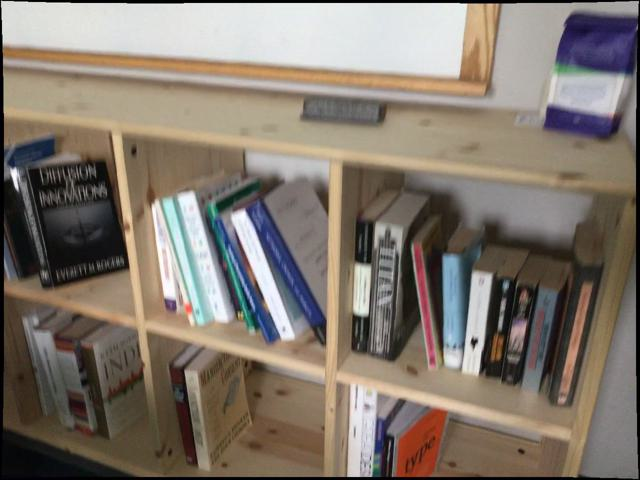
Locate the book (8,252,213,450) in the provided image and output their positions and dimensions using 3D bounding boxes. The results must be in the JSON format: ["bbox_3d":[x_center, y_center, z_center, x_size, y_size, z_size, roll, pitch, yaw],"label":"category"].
[{"bbox_3d":[-0.449,0.231,1.320,0.230,0.230,0.370,11,28,19],"label":"book"}]

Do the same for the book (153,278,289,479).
[{"bbox_3d":[-0.190,0.281,1.240,0.100,0.240,0.370,11,28,19],"label":"book"}]

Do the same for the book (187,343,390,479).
[{"bbox_3d":[-0.050,0.381,1.220,0.309,0.080,0.340,11,28,19],"label":"book"}]

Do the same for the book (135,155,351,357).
[{"bbox_3d":[-0.120,0.010,1.020,0.269,0.220,0.260,11,28,19],"label":"book"}]

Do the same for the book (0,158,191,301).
[{"bbox_3d":[-0.449,-0.040,1.210,0.160,0.140,0.370,11,28,19],"label":"book"}]
